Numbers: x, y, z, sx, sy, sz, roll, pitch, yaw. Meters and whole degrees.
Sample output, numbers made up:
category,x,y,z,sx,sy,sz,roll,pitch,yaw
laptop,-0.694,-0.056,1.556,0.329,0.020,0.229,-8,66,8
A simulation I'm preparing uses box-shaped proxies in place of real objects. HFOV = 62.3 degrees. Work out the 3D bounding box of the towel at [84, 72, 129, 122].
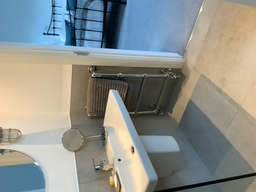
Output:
category,x,y,z,sx,sy,sz,roll,pitch,yaw
towel,-0.200,0.010,1.850,0.120,0.320,0.420,-121,36,-52

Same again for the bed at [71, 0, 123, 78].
category,x,y,z,sx,sy,sz,roll,pitch,yaw
bed,-0.790,-1.540,4.540,1.960,0.590,1.520,-119,34,-50
